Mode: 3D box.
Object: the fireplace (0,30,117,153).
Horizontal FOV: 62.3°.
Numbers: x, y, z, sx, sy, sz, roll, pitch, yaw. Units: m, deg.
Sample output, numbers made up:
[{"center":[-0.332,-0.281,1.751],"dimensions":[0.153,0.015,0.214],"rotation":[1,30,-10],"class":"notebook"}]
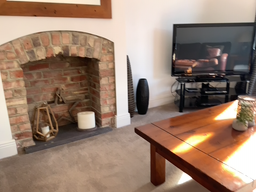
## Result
[{"center":[-0.780,-0.140,2.450],"dimensions":[1.190,1.170,0.450],"rotation":[-11,19,-30],"class":"fireplace"}]
